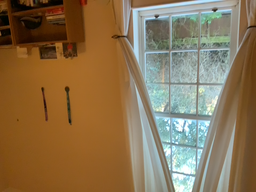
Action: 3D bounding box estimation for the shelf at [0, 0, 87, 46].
[{"bbox_3d":[-1.240,-1.160,2.520,1.450,1.050,0.330,3,-166,23],"label":"shelf"}]
